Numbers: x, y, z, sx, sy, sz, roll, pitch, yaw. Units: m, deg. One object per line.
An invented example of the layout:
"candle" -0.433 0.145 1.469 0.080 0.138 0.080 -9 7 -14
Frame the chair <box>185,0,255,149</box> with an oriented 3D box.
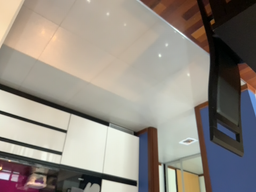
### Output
"chair" 0.700 -0.290 1.250 0.500 1.040 0.350 -23 140 35
